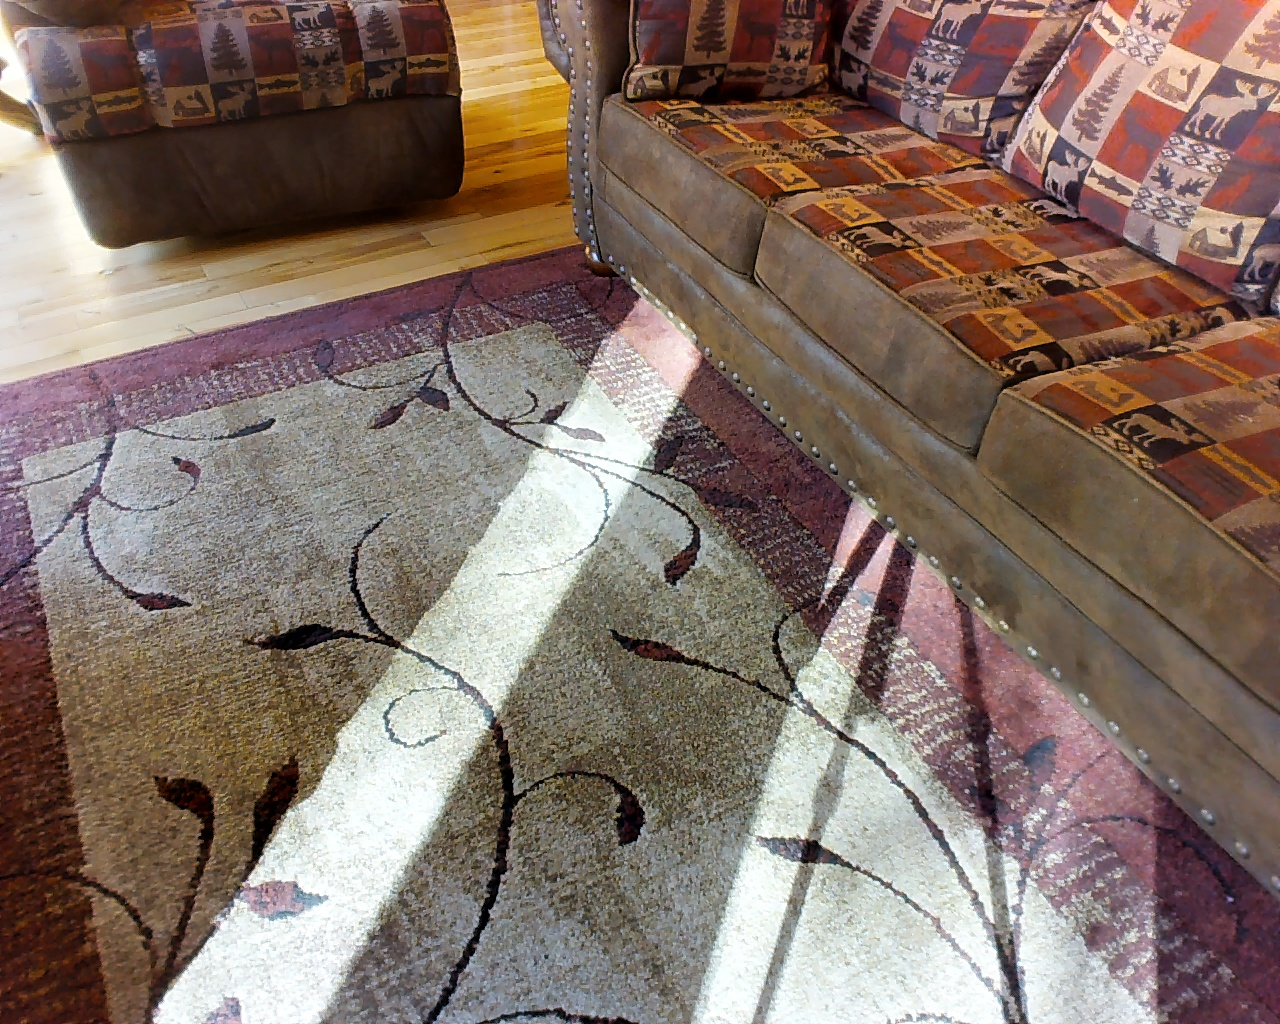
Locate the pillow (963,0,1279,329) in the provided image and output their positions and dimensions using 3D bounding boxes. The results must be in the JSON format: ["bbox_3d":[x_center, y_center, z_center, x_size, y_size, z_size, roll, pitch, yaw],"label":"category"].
[{"bbox_3d":[0.910,-0.630,1.640,0.310,0.500,0.570,6,33,-37],"label":"pillow"}]

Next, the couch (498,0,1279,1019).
[{"bbox_3d":[0.730,-0.440,1.680,1.030,0.860,2.320,-20,46,-22],"label":"couch"}]

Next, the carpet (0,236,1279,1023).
[{"bbox_3d":[-0.290,0.260,1.500,1.530,0.010,2.310,-18,45,-21],"label":"carpet"}]
